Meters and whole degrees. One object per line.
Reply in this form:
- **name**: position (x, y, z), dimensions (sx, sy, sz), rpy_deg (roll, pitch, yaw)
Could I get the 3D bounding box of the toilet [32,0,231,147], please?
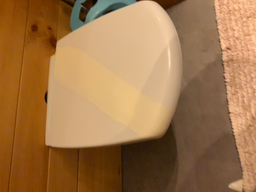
- **toilet**: position (0.010, -0.010, 0.750), dimensions (0.500, 0.440, 0.350), rpy_deg (-14, 71, 38)
